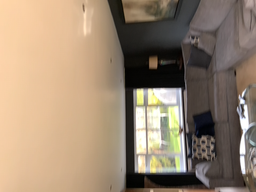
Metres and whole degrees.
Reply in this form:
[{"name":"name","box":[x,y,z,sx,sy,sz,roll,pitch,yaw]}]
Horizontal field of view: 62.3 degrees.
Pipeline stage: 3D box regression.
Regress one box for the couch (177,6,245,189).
[{"name":"couch","box":[1.620,0.020,4.490,1.230,0.790,3.360,64,-155,-80]}]

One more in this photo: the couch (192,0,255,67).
[{"name":"couch","box":[1.540,-1.300,3.010,2.100,0.710,1.210,64,-155,-80]}]
